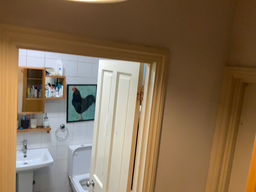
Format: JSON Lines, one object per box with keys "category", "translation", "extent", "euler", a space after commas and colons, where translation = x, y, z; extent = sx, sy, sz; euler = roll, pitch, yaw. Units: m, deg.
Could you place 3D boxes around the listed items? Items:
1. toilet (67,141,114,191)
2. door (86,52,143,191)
{"category": "toilet", "translation": [-0.530, 1.120, 2.840], "extent": [0.410, 0.810, 0.600], "euler": [1, 9, -29]}
{"category": "door", "translation": [-0.190, 0.690, 1.730], "extent": [0.050, 2.060, 0.690], "euler": [1, 9, -29]}
